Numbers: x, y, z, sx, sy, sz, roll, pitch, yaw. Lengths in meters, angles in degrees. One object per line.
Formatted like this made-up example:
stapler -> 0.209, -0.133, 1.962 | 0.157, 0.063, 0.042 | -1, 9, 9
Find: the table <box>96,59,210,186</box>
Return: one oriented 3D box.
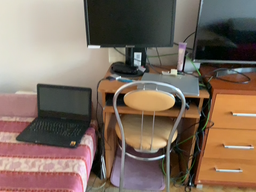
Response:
table -> 0.140, 0.180, 1.550 | 0.620, 0.750, 0.480 | 2, 28, 2
